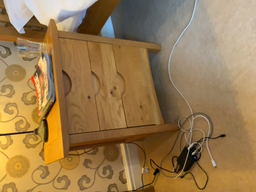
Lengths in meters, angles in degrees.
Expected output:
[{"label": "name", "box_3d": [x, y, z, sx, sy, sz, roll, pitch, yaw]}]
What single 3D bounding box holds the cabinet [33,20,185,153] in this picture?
[{"label": "cabinet", "box_3d": [-0.140, -0.010, 1.160, 0.470, 0.630, 0.490, -34, 61, 55]}]
